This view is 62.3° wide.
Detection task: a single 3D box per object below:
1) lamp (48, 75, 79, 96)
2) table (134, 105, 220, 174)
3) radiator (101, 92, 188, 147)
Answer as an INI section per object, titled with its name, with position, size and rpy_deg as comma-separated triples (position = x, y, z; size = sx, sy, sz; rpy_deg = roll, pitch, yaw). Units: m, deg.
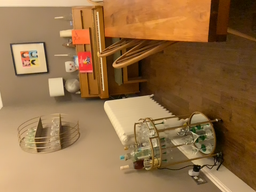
[lamp]
position = -1.140, -0.190, 3.750
size = 0.190, 0.480, 0.280
rpy_deg = -140, 46, -68
[table]
position = 0.440, 0.380, 2.000
size = 0.390, 0.660, 0.400
rpy_deg = -136, 42, -67
[radiator]
position = 0.140, 0.230, 2.740
size = 1.030, 0.800, 0.220
rpy_deg = -135, 41, -66
